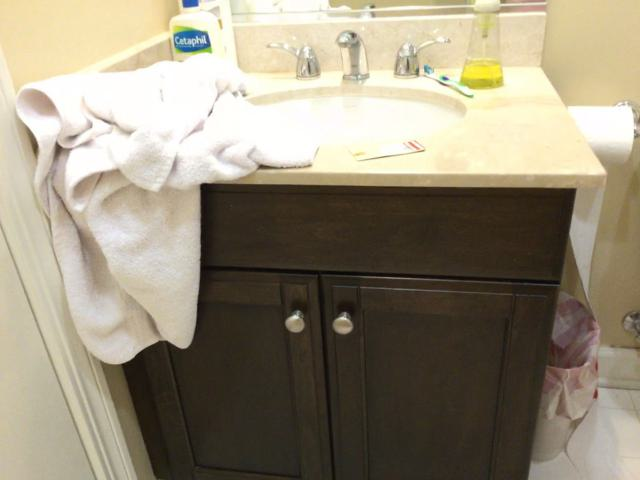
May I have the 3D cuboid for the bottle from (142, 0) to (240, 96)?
[{"bbox_3d":[-0.240,-0.390,1.090,0.110,0.200,0.130,1,28,13],"label":"bottle"}]
